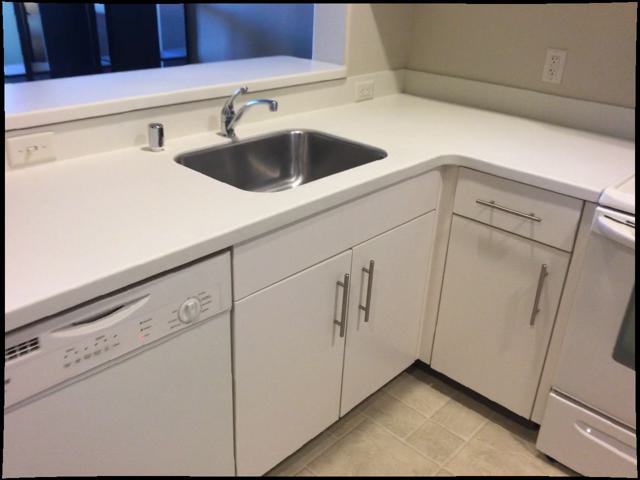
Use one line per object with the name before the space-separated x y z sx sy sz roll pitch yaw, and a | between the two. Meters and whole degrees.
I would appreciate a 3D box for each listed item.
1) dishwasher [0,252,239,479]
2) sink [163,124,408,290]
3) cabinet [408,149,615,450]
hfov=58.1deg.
dishwasher | -0.429 0.471 1.260 0.050 0.772 0.589 24 34 37
sink | -0.100 -0.140 1.770 0.489 0.240 0.539 24 34 37
cabinet | 0.578 0.201 1.910 0.509 0.892 0.110 24 34 37
